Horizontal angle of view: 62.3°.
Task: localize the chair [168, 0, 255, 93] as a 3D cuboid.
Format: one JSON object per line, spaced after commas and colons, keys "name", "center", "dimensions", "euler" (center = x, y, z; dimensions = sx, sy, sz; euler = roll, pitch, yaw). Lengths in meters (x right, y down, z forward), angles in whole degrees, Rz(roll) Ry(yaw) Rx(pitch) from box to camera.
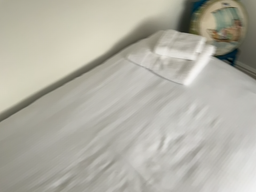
{"name": "chair", "center": [0.650, -0.460, 1.780], "dimensions": [0.370, 0.670, 0.470], "euler": [-15, 49, -11]}
